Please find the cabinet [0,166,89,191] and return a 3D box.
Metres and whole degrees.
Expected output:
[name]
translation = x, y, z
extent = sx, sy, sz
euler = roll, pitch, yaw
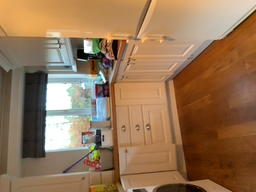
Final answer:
[cabinet]
translation = -0.990, 1.320, 2.620
extent = 0.410, 1.010, 0.750
euler = 125, 142, -72
